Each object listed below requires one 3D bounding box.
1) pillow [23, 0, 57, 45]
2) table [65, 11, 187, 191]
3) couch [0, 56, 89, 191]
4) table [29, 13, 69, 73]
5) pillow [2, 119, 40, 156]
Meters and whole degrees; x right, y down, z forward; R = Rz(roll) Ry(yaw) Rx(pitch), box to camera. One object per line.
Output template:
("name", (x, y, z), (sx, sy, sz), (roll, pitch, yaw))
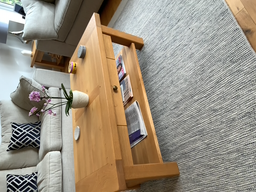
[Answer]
("pillow", (-1.170, -1.080, 2.850), (0.250, 0.350, 0.710), (-42, 49, 46))
("table", (-0.130, 0.100, 1.600), (0.650, 0.460, 1.230), (-43, 48, 45))
("couch", (-1.170, 0.820, 2.640), (1.090, 0.930, 2.270), (-43, 48, 45))
("table", (-1.440, -0.930, 3.850), (0.640, 0.530, 0.710), (-42, 49, 46))
("pillow", (-1.360, 0.530, 2.720), (0.200, 0.390, 0.410), (-52, 42, 39))
